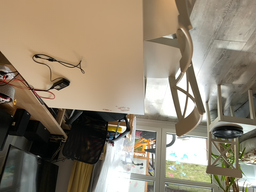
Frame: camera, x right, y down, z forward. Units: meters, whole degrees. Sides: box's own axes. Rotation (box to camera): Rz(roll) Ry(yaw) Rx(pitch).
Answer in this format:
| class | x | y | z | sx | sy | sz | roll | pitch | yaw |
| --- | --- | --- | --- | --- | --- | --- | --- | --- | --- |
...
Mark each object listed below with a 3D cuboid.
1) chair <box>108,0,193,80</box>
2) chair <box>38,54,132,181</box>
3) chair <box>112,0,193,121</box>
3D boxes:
| class | x | y | z | sx | sy | sz | roll | pitch | yaw |
| --- | --- | --- | --- | --- | --- | --- | --- | --- | --- |
| chair | 0.170 | -0.520 | 1.240 | 0.360 | 0.770 | 0.360 | -1 | 149 | 14 |
| chair | -0.430 | 0.260 | 2.360 | 0.610 | 1.160 | 0.580 | 25 | 146 | -28 |
| chair | 0.180 | -0.280 | 1.660 | 0.470 | 0.770 | 0.430 | 10 | 150 | -4 |
